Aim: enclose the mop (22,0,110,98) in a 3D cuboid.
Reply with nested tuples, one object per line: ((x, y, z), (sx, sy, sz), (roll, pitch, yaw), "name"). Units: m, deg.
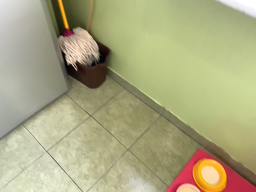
((-0.360, -0.550, 1.090), (0.220, 1.180, 0.520), (-37, 64, -26), "mop")
